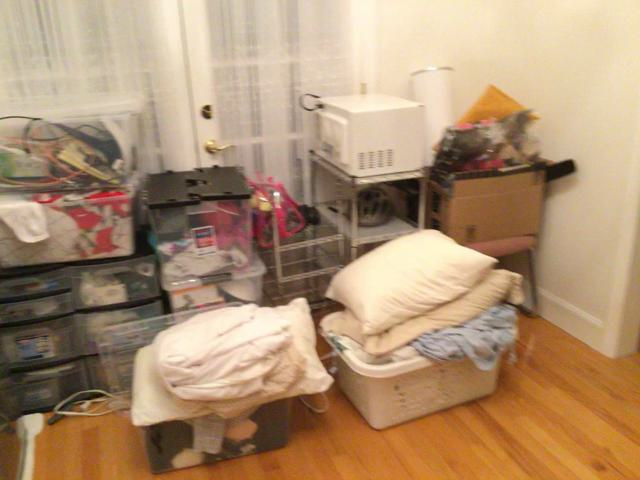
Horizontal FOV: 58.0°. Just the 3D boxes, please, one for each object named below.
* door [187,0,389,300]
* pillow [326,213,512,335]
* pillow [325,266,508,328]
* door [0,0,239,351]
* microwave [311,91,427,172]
[{"bbox_3d":[-0.100,-0.450,2.680,0.820,1.380,0.050,-11,18,-17],"label":"door"},{"bbox_3d":[0.350,0.100,2.100,0.540,0.230,0.380,-11,18,-18],"label":"pillow"},{"bbox_3d":[0.350,0.210,2.240,0.530,0.100,0.490,-11,0,-17],"label":"pillow"},{"bbox_3d":[-0.880,-0.290,2.480,0.870,1.430,0.120,-11,18,-17],"label":"door"},{"bbox_3d":[0.190,-0.480,2.470,0.320,0.270,0.560,-9,16,-10],"label":"microwave"}]
